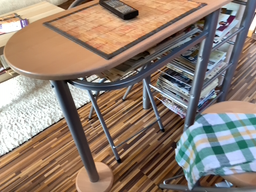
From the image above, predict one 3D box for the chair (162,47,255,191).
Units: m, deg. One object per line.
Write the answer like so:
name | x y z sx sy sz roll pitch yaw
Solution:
chair | 0.350 0.280 0.700 0.330 0.750 0.400 -9 43 -5
